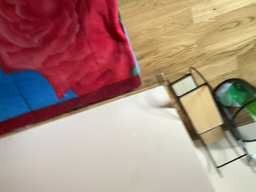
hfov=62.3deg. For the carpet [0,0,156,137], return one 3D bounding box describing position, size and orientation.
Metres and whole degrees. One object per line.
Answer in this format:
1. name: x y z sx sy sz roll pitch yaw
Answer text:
1. carpet: -0.340 -0.180 0.820 0.770 0.080 0.600 -18 121 4
